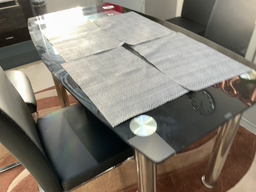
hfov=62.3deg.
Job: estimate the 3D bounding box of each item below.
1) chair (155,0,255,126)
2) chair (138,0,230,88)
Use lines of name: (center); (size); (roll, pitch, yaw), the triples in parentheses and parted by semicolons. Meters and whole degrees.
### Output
chair: (0.600, -0.370, 1.580); (0.610, 0.960, 0.440); (-23, 43, -24)
chair: (0.500, -0.690, 2.000); (0.650, 0.960, 0.470); (-23, 43, -24)
